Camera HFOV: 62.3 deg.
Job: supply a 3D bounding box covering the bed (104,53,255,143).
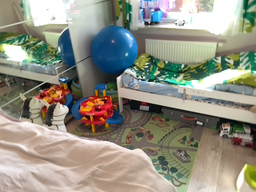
[{"bbox_3d":[0.760,-0.070,2.540,1.850,0.450,0.880,11,33,23],"label":"bed"}]
